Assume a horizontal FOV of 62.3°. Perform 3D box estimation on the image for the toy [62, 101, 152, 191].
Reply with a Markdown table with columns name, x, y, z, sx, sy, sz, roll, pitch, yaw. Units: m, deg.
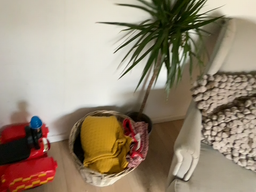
| name | x | y | z | sx | sy | sz | roll | pitch | yaw |
| --- | --- | --- | --- | --- | --- | --- | --- | --- | --- |
| toy | -0.170 | 0.310 | 1.300 | 0.440 | 0.380 | 0.400 | 0 | 46 | -18 |
